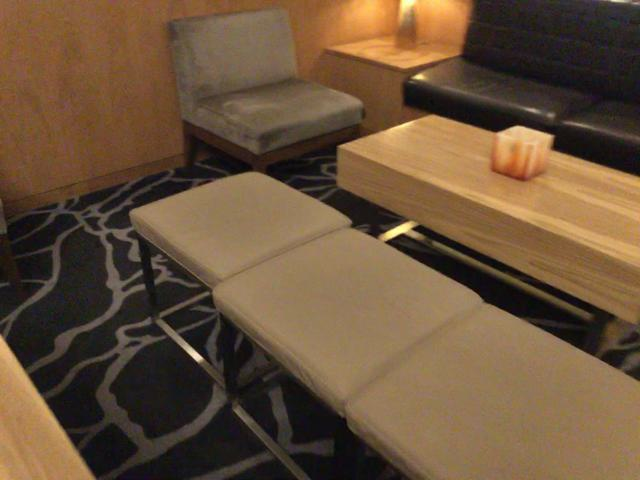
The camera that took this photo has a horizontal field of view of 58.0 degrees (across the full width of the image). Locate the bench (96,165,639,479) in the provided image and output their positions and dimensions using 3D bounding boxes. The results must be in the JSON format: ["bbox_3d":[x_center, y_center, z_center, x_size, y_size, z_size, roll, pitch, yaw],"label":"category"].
[{"bbox_3d":[0.050,0.290,1.590,0.610,0.440,1.490,-25,39,-37],"label":"bench"}]

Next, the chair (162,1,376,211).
[{"bbox_3d":[-0.250,-0.740,3.000,0.760,0.800,0.700,-25,38,-37],"label":"chair"}]

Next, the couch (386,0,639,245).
[{"bbox_3d":[1.300,-0.680,2.780,0.700,0.930,1.900,-25,38,-37],"label":"couch"}]

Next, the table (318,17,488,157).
[{"bbox_3d":[0.490,-0.990,3.610,0.660,0.610,0.760,-25,38,-37],"label":"table"}]

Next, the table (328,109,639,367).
[{"bbox_3d":[0.700,-0.120,2.170,0.660,0.340,1.240,-25,39,-37],"label":"table"}]
